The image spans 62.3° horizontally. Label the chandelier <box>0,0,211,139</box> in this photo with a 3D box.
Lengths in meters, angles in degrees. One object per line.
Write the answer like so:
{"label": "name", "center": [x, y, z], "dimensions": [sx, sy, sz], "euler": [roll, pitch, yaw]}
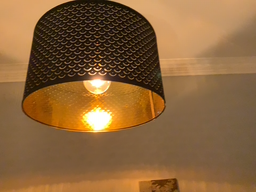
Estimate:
{"label": "chandelier", "center": [-0.130, -0.390, 1.190], "dimensions": [0.740, 1.030, 0.730], "euler": [-7, 155, 3]}
